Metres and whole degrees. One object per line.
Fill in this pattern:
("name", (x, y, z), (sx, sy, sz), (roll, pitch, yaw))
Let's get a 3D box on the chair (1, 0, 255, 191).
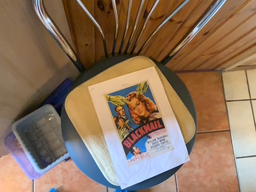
("chair", (0.020, 0.040, 0.690), (0.460, 0.810, 0.460), (-2, 80, -9))
